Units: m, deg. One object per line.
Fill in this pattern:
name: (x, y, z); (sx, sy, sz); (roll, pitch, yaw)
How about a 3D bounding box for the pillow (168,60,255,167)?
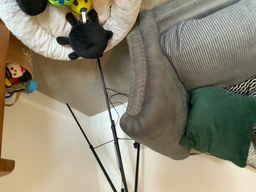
pillow: (0.530, 0.120, 1.340); (0.410, 0.500, 0.320); (-16, 153, 4)
